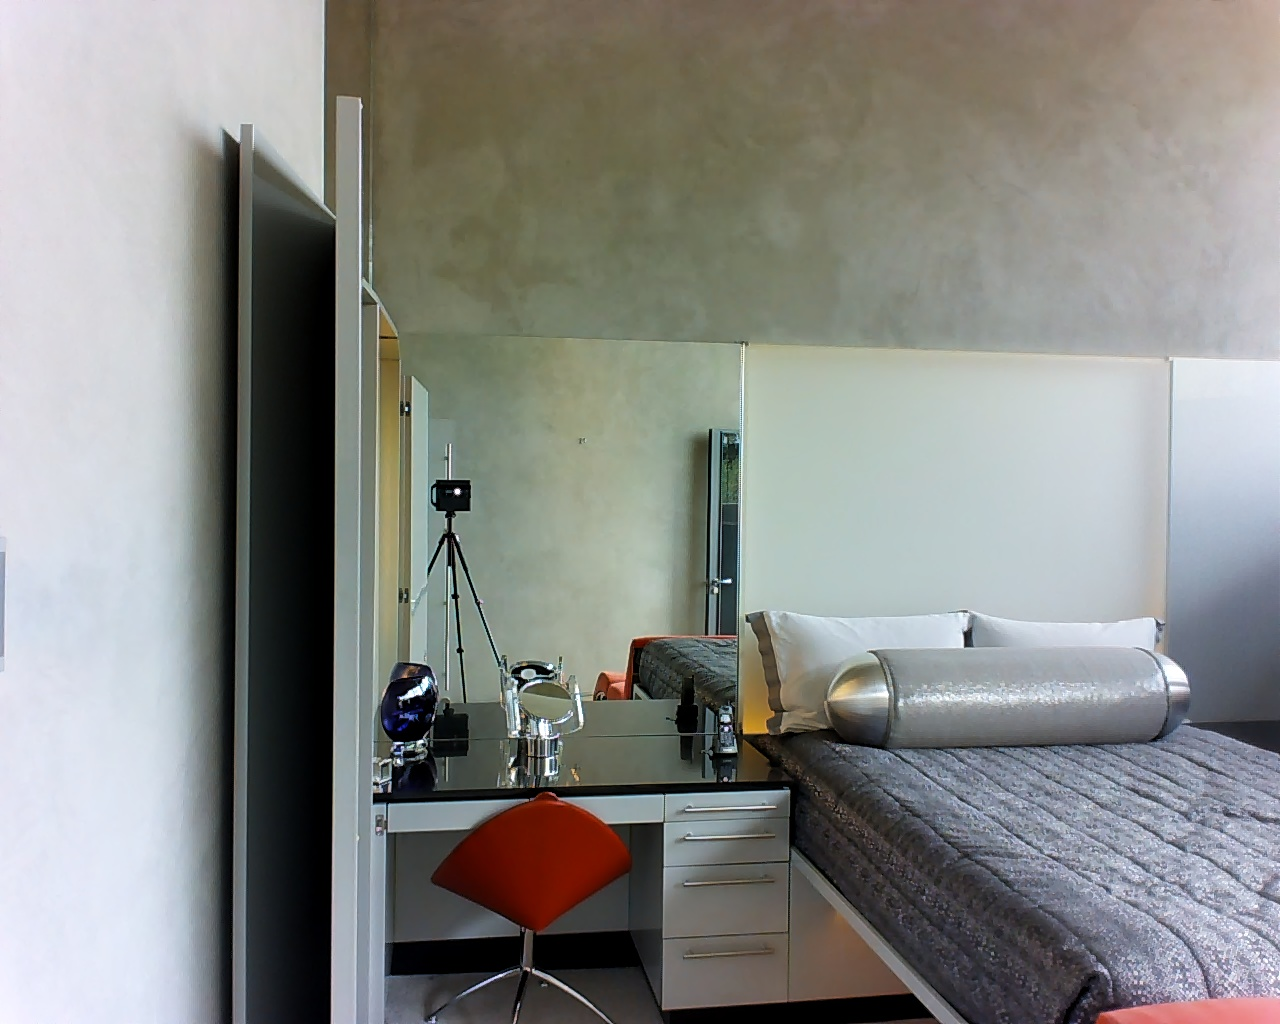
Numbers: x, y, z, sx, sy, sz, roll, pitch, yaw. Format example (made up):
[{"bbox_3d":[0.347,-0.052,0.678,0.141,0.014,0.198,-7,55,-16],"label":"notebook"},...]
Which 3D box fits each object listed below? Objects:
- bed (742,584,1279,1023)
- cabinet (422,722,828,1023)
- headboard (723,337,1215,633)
[{"bbox_3d":[1.390,0.930,2.850,1.720,1.270,2.170,-1,1,-9],"label":"bed"},{"bbox_3d":[-0.080,1.170,3.420,1.180,0.810,0.640,-1,1,-10],"label":"cabinet"},{"bbox_3d":[1.210,-0.110,3.880,1.810,1.020,0.130,-1,1,-8],"label":"headboard"}]
